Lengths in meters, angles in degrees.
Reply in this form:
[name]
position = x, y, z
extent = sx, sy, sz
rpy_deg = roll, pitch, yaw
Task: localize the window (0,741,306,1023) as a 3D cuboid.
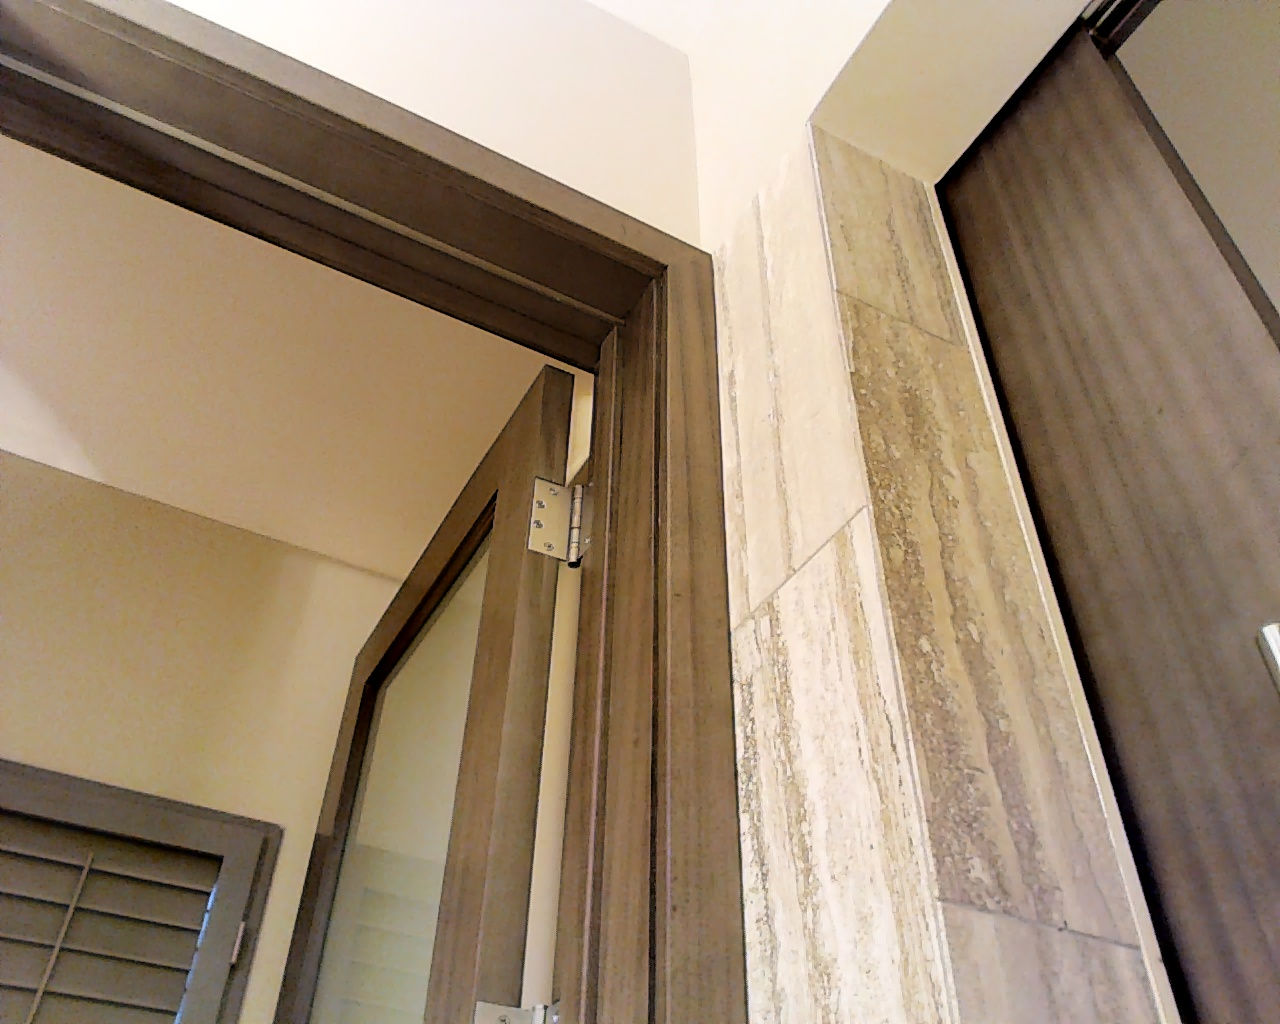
[window]
position = -0.900, 0.880, 1.500
extent = 0.610, 1.120, 0.050
rpy_deg = 20, -45, -20
